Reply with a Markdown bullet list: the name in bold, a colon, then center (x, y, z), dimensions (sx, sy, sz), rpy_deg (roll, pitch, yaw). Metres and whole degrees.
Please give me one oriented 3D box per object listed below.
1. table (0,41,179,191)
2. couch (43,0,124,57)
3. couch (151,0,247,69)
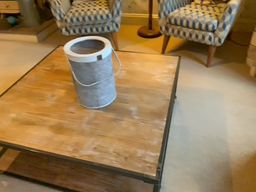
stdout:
- **table**: center (-0.240, 0.070, 1.400), dimensions (1.010, 0.370, 1.020), rpy_deg (8, 41, 13)
- **couch**: center (-0.470, -1.060, 2.430), dimensions (0.720, 0.840, 0.860), rpy_deg (-6, 40, -4)
- **couch**: center (0.770, -0.940, 2.200), dimensions (0.720, 0.850, 0.860), rpy_deg (21, 45, 26)
